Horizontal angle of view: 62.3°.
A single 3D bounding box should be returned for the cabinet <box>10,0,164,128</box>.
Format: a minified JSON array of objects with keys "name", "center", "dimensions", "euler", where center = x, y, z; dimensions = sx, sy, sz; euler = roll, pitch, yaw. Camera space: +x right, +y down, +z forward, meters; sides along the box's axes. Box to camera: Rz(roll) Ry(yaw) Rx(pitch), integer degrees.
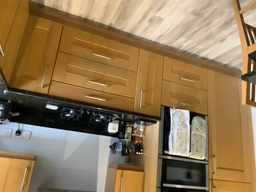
[{"name":"cabinet","center":[-0.370,-0.250,2.290],"dimensions":[1.340,0.910,0.600],"euler":[12,161,-18]}]
